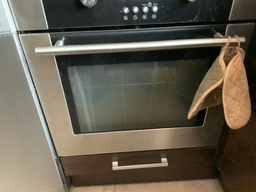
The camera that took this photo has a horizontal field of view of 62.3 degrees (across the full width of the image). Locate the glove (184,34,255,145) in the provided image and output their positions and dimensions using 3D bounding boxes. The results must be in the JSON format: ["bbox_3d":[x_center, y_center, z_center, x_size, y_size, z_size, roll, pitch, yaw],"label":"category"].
[{"bbox_3d":[0.260,-0.010,0.570,0.150,0.270,0.120,-3,36,-2],"label":"glove"}]
